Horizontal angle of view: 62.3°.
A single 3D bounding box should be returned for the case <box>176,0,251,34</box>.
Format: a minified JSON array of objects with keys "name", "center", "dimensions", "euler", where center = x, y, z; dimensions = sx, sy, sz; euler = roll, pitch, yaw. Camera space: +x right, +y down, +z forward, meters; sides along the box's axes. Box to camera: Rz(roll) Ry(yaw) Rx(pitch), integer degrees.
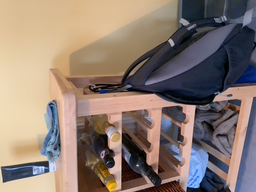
[{"name":"case","center":[0.400,-0.550,1.020],"dimensions":[0.300,0.180,0.440],"euler":[-161,68,-64]}]
